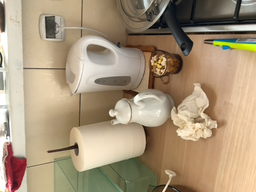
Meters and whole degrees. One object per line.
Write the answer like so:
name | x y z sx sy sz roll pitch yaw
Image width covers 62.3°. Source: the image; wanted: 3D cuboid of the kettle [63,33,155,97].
kettle | -0.070 -0.110 0.730 0.160 0.260 0.180 25 114 54

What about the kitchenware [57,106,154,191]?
kitchenware | -0.090 0.160 0.760 0.240 0.260 0.180 19 108 55
